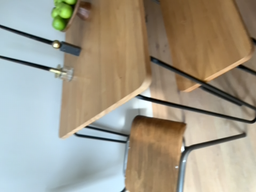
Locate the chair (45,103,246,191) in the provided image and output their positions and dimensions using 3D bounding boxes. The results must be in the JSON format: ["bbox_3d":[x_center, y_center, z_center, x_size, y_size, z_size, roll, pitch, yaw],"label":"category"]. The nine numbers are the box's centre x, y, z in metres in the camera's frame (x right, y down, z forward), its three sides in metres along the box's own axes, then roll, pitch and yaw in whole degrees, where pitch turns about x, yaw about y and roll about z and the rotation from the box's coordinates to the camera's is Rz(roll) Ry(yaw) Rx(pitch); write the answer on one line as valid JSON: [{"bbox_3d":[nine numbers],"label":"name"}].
[{"bbox_3d":[0.110,0.380,1.030,0.400,0.850,0.520,7,85,57],"label":"chair"}]
